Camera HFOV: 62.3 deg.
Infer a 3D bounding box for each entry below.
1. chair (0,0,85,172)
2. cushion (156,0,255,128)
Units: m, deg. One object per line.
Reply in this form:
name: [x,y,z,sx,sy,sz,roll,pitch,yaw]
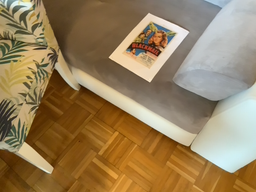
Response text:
chair: [-0.570,-0.160,0.810,0.480,0.960,0.590,10,60,7]
cushion: [0.370,-0.200,0.790,0.250,0.180,0.570,31,64,18]
